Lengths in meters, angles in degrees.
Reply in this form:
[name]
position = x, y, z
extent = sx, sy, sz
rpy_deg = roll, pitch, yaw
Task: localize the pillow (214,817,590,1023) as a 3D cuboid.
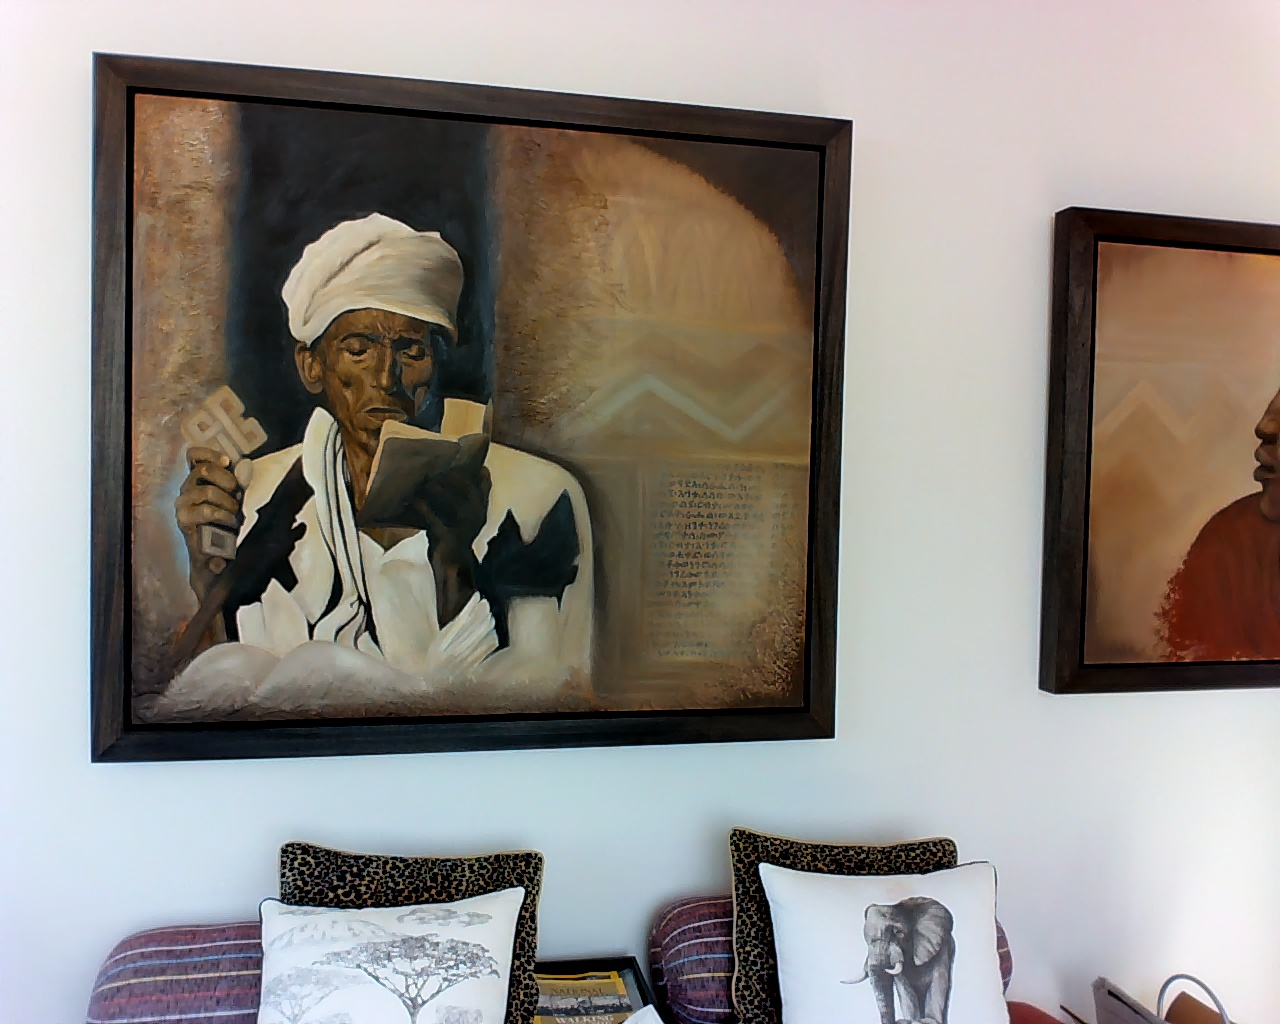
[pillow]
position = -0.350, 0.730, 1.580
extent = 0.410, 0.360, 0.160
rpy_deg = 36, 7, -12
